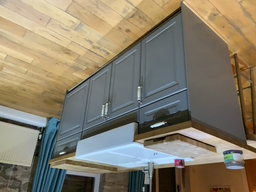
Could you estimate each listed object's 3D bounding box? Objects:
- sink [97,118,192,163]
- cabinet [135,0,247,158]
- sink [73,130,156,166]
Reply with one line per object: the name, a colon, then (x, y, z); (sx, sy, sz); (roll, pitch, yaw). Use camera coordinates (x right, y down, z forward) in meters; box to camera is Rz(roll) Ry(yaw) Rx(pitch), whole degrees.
sink: (0.140, 0.380, 1.670); (0.640, 0.170, 0.390); (22, 148, -34)
cabinet: (0.440, -0.090, 1.580); (0.620, 0.940, 0.410); (22, 148, -34)
sink: (-0.110, 0.500, 1.940); (0.640, 0.160, 0.380); (22, 148, -34)
